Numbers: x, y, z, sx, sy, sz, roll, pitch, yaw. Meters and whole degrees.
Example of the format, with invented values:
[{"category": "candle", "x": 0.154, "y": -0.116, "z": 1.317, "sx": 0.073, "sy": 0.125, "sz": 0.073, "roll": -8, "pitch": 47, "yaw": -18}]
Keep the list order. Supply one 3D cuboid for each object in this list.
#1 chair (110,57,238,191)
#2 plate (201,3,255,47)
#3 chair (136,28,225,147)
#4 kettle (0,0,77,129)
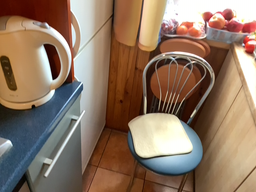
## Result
[{"category": "chair", "x": 0.220, "y": 0.260, "z": 1.270, "sx": 0.470, "sy": 0.720, "sz": 0.540, "roll": 14, "pitch": 40, "yaw": 7}, {"category": "plate", "x": 0.620, "y": -0.450, "z": 1.320, "sx": 0.280, "sy": 0.140, "sz": 0.240, "roll": 15, "pitch": 40, "yaw": 8}, {"category": "chair", "x": 0.320, "y": -0.010, "z": 1.520, "sx": 0.390, "sy": 0.840, "sz": 0.160, "roll": 14, "pitch": 40, "yaw": 7}, {"category": "kettle", "x": -0.280, "y": -0.110, "z": 0.590, "sx": 0.210, "sy": 0.350, "sz": 0.150, "roll": 18, "pitch": 40, "yaw": 11}]
